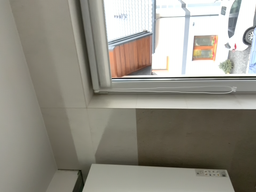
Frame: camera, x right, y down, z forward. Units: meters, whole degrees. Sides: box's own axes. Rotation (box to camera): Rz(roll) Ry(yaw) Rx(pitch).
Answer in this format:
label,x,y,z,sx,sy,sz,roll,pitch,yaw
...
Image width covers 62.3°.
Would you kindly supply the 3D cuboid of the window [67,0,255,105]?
label,x,y,z,sx,sy,sz,roll,pitch,yaw
window,0.370,-0.380,1.320,0.320,1.350,0.820,-78,-13,-61
